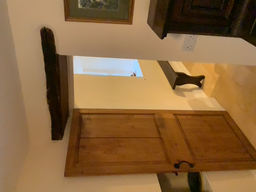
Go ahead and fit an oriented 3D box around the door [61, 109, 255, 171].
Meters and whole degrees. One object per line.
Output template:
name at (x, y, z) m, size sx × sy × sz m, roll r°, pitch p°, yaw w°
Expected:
door at (0.330, 0.390, 2.060) m, size 0.730 × 1.790 × 0.030 m, roll -103°, pitch 18°, yaw -55°
